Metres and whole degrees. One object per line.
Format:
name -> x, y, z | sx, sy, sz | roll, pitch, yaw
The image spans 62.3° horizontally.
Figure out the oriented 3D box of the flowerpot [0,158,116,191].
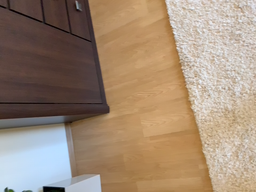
flowerpot -> -0.420, 0.620, 1.300 | 0.260, 0.850, 0.280 | -11, 82, 28
